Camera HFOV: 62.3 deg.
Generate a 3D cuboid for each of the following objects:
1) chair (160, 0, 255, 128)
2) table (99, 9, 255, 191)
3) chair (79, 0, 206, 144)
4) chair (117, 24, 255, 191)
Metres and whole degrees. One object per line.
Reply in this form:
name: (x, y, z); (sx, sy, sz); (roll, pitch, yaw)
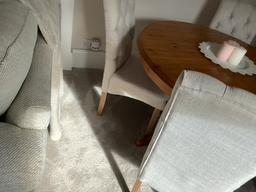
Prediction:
chair: (0.740, -0.310, 1.880); (0.480, 0.970, 0.550); (25, 38, 9)
table: (0.500, 0.040, 1.530); (1.110, 0.750, 1.110); (0, 41, -22)
chair: (0.060, -0.230, 1.520); (0.560, 0.960, 0.460); (22, 38, 5)
chair: (0.330, 0.260, 1.030); (0.470, 0.960, 0.560); (28, 39, 12)
